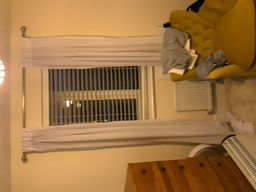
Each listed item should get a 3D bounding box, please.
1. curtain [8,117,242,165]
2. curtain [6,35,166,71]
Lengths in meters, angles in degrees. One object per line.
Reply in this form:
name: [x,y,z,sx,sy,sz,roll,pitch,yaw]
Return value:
curtain: [0.060,0.410,2.110,0.240,2.220,0.280,-176,85,-80]
curtain: [-0.380,-0.440,2.200,0.110,1.580,0.330,-179,88,-80]
